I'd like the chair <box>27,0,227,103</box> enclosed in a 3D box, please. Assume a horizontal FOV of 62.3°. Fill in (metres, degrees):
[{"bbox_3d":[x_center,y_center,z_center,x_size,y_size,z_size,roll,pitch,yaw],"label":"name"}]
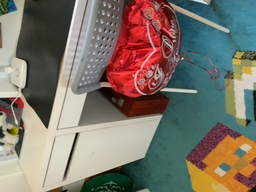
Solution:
[{"bbox_3d":[0.030,-0.250,0.980,0.410,0.760,0.370,40,118,37],"label":"chair"}]
